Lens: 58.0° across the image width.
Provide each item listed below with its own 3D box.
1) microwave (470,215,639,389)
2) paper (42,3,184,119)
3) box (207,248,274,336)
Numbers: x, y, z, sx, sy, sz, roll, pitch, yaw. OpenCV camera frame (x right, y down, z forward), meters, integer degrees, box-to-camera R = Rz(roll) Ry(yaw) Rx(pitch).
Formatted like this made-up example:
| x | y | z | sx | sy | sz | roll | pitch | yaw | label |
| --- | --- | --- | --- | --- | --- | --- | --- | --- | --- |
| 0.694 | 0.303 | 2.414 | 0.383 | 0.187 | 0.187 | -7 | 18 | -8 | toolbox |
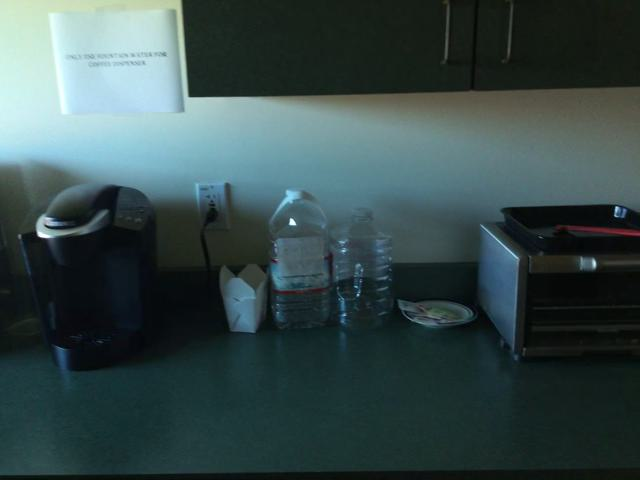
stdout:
| x | y | z | sx | sy | sz | roll | pitch | yaw | label |
| --- | --- | --- | --- | --- | --- | --- | --- | --- | --- |
| 0.540 | 0.100 | 1.130 | 0.410 | 0.230 | 0.330 | -3 | 12 | 1 | microwave |
| -0.440 | -0.380 | 1.240 | 0.270 | 0.220 | 0.030 | -3 | 12 | 1 | paper |
| -0.170 | 0.110 | 1.280 | 0.110 | 0.140 | 0.190 | -3 | 12 | 1 | box |
